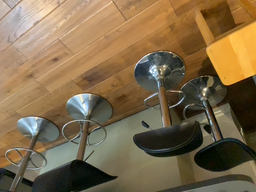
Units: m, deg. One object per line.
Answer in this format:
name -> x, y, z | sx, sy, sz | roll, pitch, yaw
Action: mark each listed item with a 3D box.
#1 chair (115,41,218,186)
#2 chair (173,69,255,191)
chair -> 0.210, 0.080, 1.320 | 0.390, 0.750, 0.370 | -23, 129, 22
chair -> 0.600, 0.240, 1.470 | 0.370, 0.750, 0.370 | -20, 130, 20
